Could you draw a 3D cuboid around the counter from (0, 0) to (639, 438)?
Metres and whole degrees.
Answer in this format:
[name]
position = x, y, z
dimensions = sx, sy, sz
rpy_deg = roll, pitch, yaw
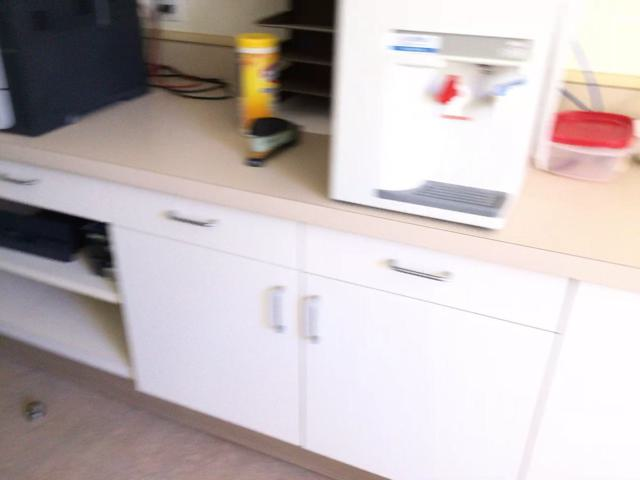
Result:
[counter]
position = 0.100, -0.190, 1.270
dimensions = 2.940, 0.440, 0.720
rpy_deg = 15, 32, 21

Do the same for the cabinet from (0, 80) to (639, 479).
[cabinet]
position = 0.020, 0.230, 1.320
dimensions = 2.930, 0.810, 0.330
rpy_deg = 15, 32, 21

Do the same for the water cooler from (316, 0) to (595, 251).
[water cooler]
position = 0.250, -0.310, 1.010
dimensions = 0.360, 0.450, 0.410
rpy_deg = 15, 32, 21
